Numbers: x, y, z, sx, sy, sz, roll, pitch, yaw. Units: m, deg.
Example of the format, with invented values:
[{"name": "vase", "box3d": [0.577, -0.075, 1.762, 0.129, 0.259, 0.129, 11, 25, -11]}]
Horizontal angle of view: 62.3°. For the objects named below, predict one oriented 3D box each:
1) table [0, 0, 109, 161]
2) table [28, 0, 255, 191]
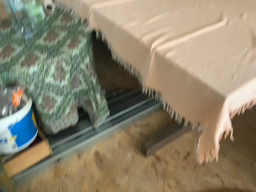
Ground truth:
[{"name": "table", "box3d": [-0.600, -0.170, 1.410, 0.590, 0.610, 0.780, -26, 50, -25]}, {"name": "table", "box3d": [0.080, -0.560, 1.730, 1.100, 0.760, 2.180, -26, 51, -26]}]
